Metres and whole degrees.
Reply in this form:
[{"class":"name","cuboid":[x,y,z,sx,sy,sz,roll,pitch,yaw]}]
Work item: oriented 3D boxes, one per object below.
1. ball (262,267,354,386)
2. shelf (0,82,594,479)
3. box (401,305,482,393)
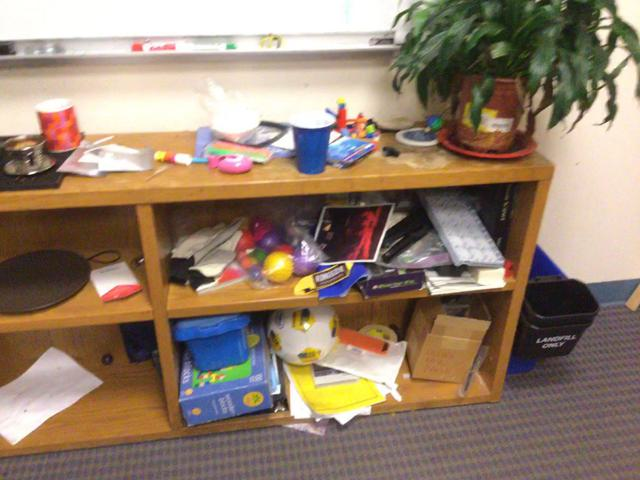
[{"class":"ball","cuboid":[-0.040,0.240,1.640,0.220,0.240,0.200,-5,30,-11]},{"class":"shelf","cuboid":[-0.410,0.100,1.440,1.950,0.810,0.410,-5,30,-11]},{"class":"box","cuboid":[0.340,0.310,1.650,0.170,0.190,0.130,-5,30,-11]}]
